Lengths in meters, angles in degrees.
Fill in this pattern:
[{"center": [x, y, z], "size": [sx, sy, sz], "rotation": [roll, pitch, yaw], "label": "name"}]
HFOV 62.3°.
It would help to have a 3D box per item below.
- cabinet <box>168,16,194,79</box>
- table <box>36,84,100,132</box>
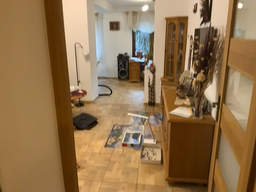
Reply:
[{"center": [1.090, -1.000, 4.420], "size": [0.420, 1.230, 0.430], "rotation": [3, 17, 10], "label": "cabinet"}, {"center": [-1.080, 0.180, 4.060], "size": [0.870, 0.630, 0.840], "rotation": [2, 17, 8], "label": "table"}]
